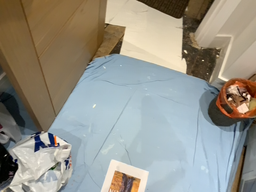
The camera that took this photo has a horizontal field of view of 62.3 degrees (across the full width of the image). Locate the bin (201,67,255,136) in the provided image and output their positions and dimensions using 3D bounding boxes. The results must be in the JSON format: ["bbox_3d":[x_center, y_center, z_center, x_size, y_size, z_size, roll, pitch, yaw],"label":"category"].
[{"bbox_3d":[0.640,0.040,1.270,0.240,0.260,0.250,27,60,4],"label":"bin"}]
